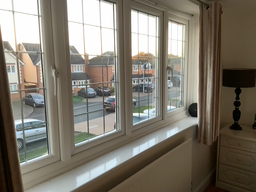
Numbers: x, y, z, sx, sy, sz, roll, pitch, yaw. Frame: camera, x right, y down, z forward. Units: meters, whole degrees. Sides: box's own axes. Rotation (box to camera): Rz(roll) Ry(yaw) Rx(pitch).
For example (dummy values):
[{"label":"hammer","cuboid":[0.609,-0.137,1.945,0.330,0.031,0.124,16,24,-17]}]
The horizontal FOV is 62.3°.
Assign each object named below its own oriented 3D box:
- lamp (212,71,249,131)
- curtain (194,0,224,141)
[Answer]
[{"label":"lamp","cuboid":[1.290,0.040,2.680,0.330,0.700,0.300,6,10,39]},{"label":"curtain","cuboid":[0.840,-0.260,2.210,0.160,1.400,0.310,5,10,37]}]
